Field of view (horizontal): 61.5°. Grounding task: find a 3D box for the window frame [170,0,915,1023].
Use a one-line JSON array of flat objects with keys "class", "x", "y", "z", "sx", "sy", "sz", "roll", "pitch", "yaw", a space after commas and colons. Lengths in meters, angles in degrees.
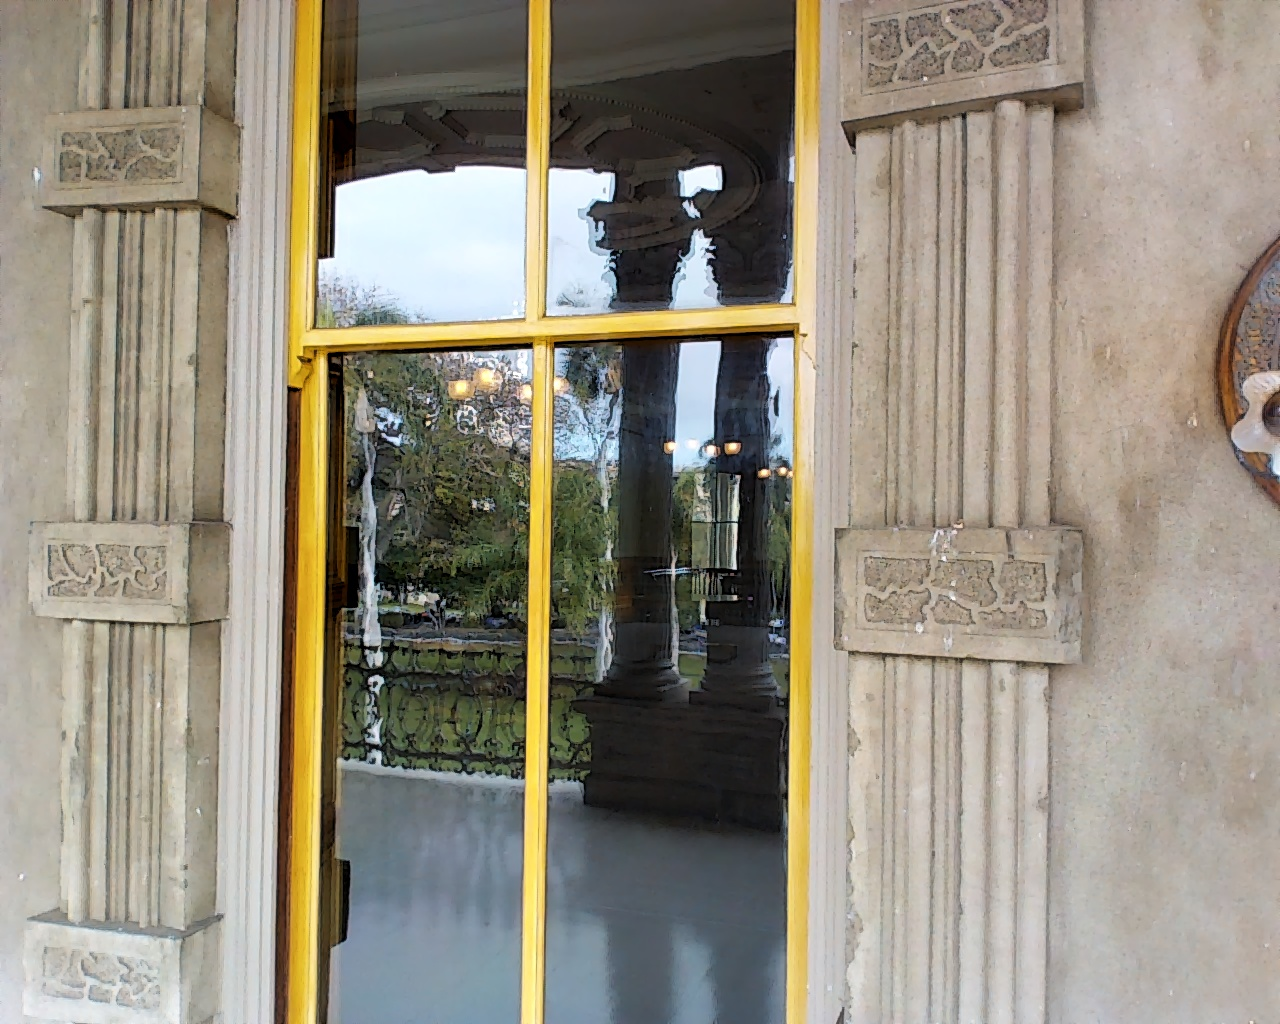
[{"class": "window frame", "x": -0.220, "y": -0.090, "z": 2.130, "sx": 1.450, "sy": 3.180, "sz": 0.290, "roll": 0, "pitch": -2, "yaw": 20}]
